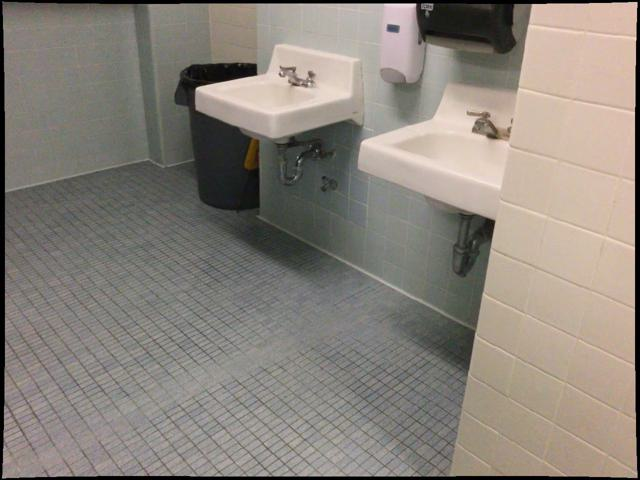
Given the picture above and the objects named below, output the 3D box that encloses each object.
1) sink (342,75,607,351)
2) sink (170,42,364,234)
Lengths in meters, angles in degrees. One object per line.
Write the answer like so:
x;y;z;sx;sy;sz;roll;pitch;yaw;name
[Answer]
0.449;-0.130;1.820;0.479;0.611;0.569;-24;36;-39;sink
-0.219;-0.461;2.410;0.479;0.581;0.619;-24;36;-39;sink
